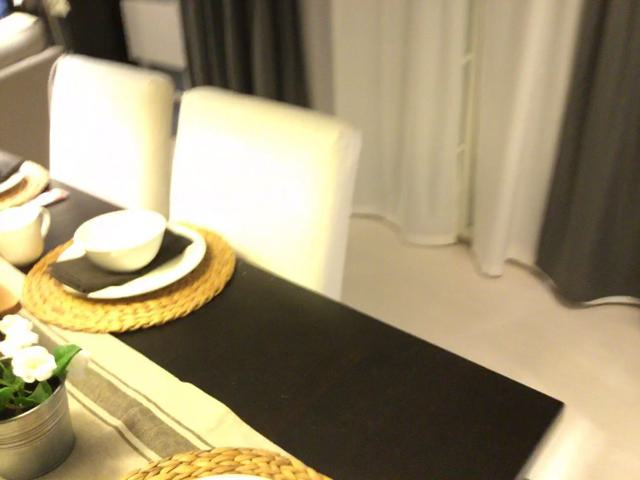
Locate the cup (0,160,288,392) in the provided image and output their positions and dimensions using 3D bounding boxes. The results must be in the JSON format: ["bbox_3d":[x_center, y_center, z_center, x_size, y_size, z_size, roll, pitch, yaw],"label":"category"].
[{"bbox_3d":[-0.350,0.020,1.030,0.430,0.120,0.390,23,36,35],"label":"cup"}]

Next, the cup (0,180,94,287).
[{"bbox_3d":[-0.570,-0.020,1.110,0.180,0.100,0.170,23,37,35],"label":"cup"}]

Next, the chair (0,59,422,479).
[{"bbox_3d":[-0.200,0.170,1.280,0.560,0.950,0.540,23,37,35],"label":"chair"}]
